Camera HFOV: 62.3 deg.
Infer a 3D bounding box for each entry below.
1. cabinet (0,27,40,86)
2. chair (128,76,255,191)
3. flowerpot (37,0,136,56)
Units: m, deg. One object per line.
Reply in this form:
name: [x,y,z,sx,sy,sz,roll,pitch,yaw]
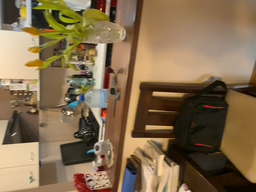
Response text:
cabinet: [-1.340,-0.430,2.280,0.310,0.710,0.570,-138,51,-59]
chair: [0.580,0.200,1.300,0.530,0.980,0.510,-142,55,-61]
flowerpot: [-0.260,-0.410,1.200,0.370,0.470,0.280,-139,53,-60]
